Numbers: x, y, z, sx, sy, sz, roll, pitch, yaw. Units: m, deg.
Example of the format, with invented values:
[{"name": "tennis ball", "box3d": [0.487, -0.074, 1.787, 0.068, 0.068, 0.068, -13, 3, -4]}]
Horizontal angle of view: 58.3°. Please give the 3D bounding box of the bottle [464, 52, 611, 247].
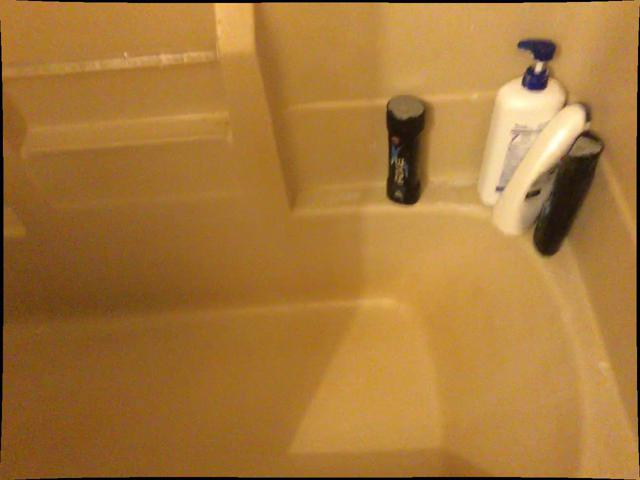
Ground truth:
[{"name": "bottle", "box3d": [0.340, -0.140, 0.950, 0.140, 0.260, 0.180, -3, 54, 3]}]
